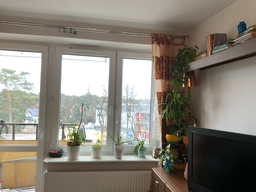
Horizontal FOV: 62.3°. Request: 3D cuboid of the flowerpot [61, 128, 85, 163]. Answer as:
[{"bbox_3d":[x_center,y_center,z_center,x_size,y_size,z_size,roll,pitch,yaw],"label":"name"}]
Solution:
[{"bbox_3d":[-0.670,0.600,2.610,0.240,0.370,0.240,3,-1,-6],"label":"flowerpot"}]
